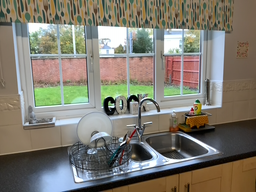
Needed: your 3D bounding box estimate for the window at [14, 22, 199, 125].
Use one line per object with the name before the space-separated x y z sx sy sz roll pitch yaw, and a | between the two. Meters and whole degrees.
window | -0.060 -0.220 1.920 1.650 0.770 0.070 -5 10 -21
